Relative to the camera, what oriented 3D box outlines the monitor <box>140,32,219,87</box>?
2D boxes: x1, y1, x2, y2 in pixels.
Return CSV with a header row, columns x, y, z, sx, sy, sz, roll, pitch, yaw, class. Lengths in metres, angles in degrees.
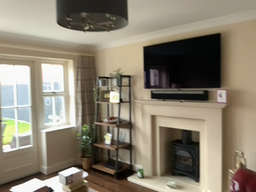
x,y,z,sx,sy,sz,roll,pitch,yaw,class
0.680,-0.480,3.100,1.230,0.680,0.040,1,5,41,monitor
